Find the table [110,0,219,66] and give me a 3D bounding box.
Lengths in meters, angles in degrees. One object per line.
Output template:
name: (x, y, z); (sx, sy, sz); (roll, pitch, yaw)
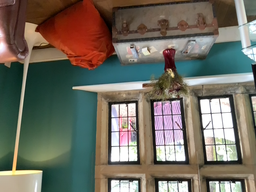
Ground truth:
table: (0.320, -0.600, 2.100); (0.910, 0.380, 0.560); (-2, 166, 5)
